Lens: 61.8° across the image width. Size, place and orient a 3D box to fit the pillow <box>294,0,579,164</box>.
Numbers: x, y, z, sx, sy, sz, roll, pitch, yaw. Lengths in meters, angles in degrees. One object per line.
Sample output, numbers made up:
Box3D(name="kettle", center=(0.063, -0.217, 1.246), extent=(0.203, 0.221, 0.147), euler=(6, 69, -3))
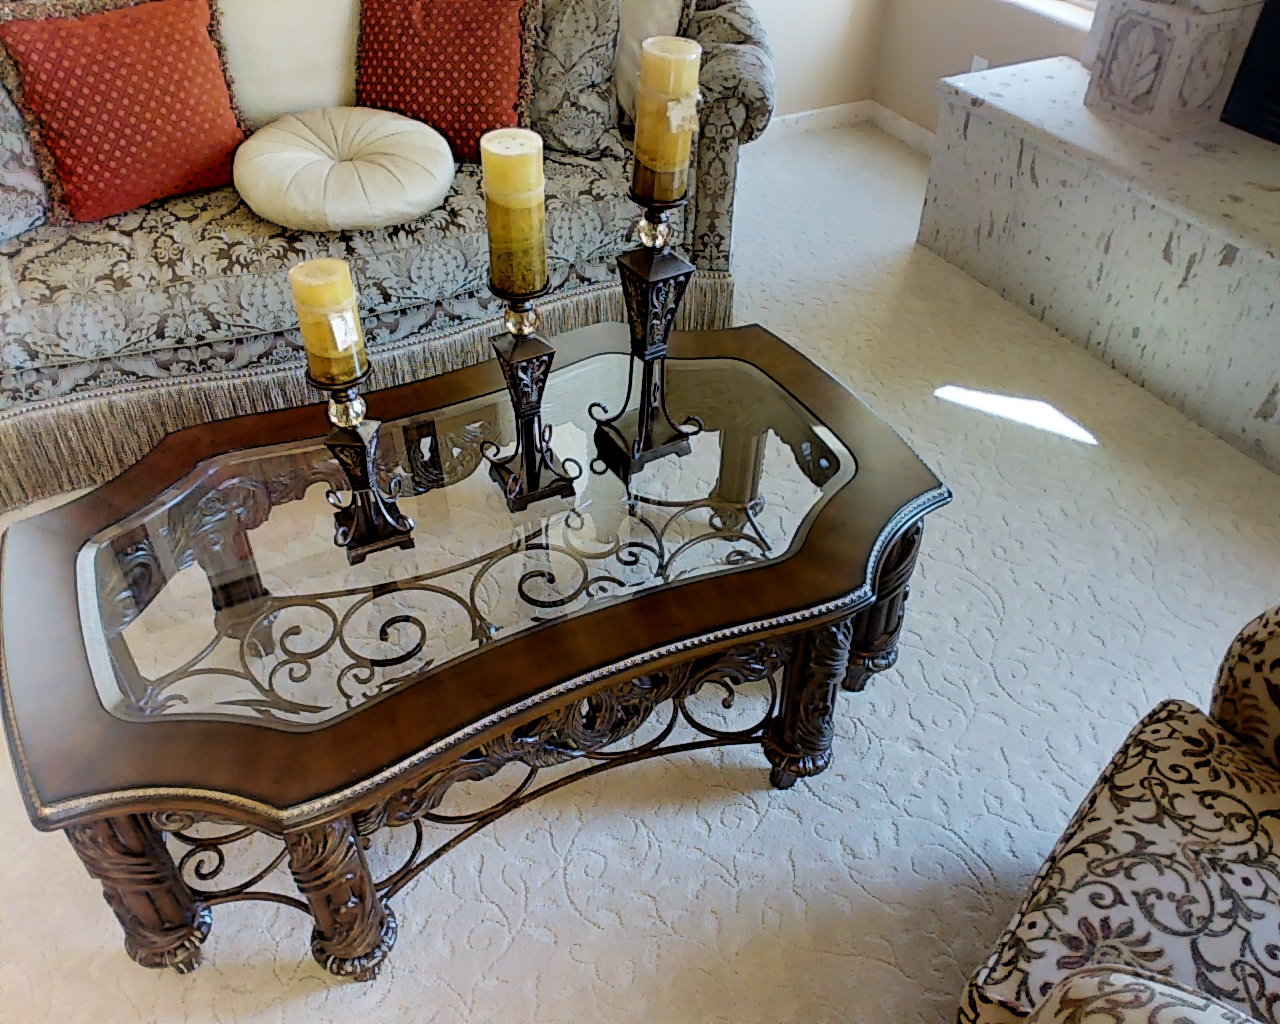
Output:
Box3D(name="pillow", center=(-0.470, -1.090, 2.520), extent=(0.470, 0.430, 0.170), euler=(-7, 62, 32))

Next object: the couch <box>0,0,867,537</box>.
Box3D(name="couch", center=(-0.880, -0.940, 2.670), extent=(2.541, 1.010, 1.210), euler=(-18, 46, -21))

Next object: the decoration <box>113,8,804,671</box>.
Box3D(name="decoration", center=(-0.210, -0.240, 1.460), extent=(0.720, 0.670, 0.330), euler=(-19, 46, -21))

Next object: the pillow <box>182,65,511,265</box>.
Box3D(name="pillow", center=(-0.650, -0.790, 2.370), extent=(0.550, 0.150, 0.500), euler=(-22, 47, -24))

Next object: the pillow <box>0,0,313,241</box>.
Box3D(name="pillow", center=(-1.050, -0.920, 2.270), extent=(0.510, 0.460, 0.160), euler=(-34, 49, -12))
